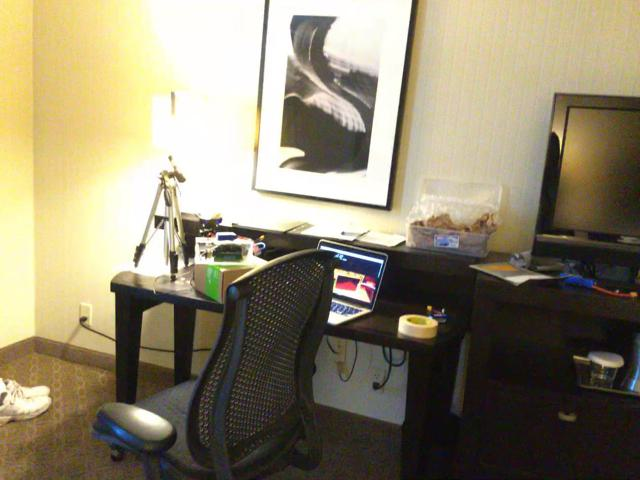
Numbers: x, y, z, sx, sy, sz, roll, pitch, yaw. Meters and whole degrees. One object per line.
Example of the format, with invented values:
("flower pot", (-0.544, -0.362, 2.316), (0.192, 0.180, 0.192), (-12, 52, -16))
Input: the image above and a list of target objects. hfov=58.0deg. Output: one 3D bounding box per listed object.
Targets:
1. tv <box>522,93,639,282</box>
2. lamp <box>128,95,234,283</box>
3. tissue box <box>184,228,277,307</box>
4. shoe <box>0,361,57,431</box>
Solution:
("tv", (1.090, -0.160, 1.850), (0.780, 0.580, 0.170), (6, 9, 20))
("lamp", (-0.570, -0.220, 2.400), (0.270, 0.710, 0.350), (6, 9, 20))
("tissue box", (-0.330, 0.090, 2.110), (0.230, 0.220, 0.270), (-4, 11, -37))
("shoe", (-1.370, 0.700, 2.610), (0.310, 0.140, 0.380), (-2, 10, -28))
